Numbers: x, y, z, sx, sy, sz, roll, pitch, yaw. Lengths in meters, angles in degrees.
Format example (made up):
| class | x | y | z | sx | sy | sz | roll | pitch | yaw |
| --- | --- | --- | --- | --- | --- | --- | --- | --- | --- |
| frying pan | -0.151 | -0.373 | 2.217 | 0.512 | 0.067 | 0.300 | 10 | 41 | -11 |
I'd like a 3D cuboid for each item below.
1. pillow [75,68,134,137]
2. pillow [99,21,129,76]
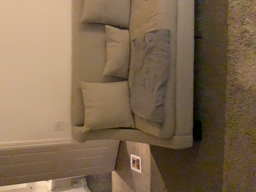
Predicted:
| class | x | y | z | sx | sy | sz | roll | pitch | yaw |
| --- | --- | --- | --- | --- | --- | --- | --- | --- | --- |
| pillow | -0.200 | 0.070 | 2.020 | 0.120 | 0.440 | 0.520 | -29 | 42 | 53 |
| pillow | -0.140 | -0.450 | 2.090 | 0.230 | 0.210 | 0.480 | 1 | 91 | 63 |
